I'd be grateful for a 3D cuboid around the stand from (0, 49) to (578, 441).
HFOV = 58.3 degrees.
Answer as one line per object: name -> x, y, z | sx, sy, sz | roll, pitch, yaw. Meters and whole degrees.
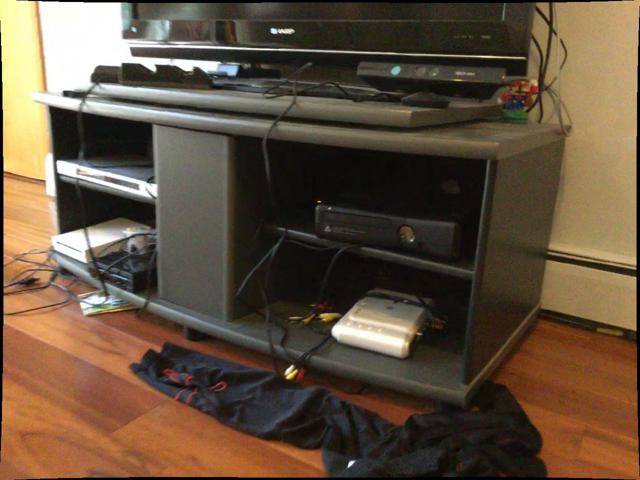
stand -> -0.130, -0.140, 1.440 | 1.269, 0.590, 0.660 | 12, 19, 29
